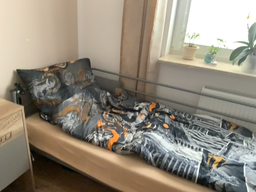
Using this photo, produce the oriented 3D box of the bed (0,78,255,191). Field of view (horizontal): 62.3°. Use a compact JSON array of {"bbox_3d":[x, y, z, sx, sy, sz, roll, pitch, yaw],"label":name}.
[{"bbox_3d":[0.210,0.460,1.710,2.170,0.530,0.990,15,26,21],"label":"bed"}]
